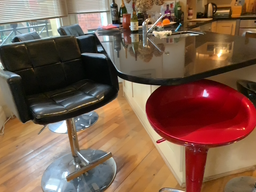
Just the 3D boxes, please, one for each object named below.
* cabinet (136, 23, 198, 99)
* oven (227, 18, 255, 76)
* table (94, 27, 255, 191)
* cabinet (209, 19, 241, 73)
[{"bbox_3d":[0.530,-0.510,2.900,0.590,0.870,0.580,13,28,34],"label":"cabinet"},{"bbox_3d":[2.160,-0.830,3.530,0.710,0.840,0.610,13,28,34],"label":"oven"},{"bbox_3d":[0.310,-0.050,1.800,0.960,0.860,1.370,-9,23,-12],"label":"table"},{"bbox_3d":[1.740,-0.920,3.810,0.300,0.840,0.600,13,28,34],"label":"cabinet"}]
